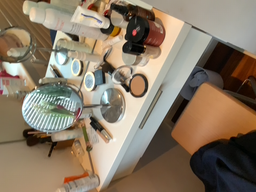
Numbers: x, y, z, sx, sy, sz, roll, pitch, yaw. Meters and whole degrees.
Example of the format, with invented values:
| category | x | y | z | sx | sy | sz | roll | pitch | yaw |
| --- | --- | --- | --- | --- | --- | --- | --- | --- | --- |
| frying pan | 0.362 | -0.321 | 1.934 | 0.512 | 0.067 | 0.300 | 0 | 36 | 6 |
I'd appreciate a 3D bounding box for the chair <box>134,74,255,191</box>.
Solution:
| category | x | y | z | sx | sy | sz | roll | pitch | yaw |
| --- | --- | --- | --- | --- | --- | --- | --- | --- | --- |
| chair | 0.450 | 0.190 | 0.920 | 0.460 | 0.630 | 0.330 | 44 | 119 | 36 |
